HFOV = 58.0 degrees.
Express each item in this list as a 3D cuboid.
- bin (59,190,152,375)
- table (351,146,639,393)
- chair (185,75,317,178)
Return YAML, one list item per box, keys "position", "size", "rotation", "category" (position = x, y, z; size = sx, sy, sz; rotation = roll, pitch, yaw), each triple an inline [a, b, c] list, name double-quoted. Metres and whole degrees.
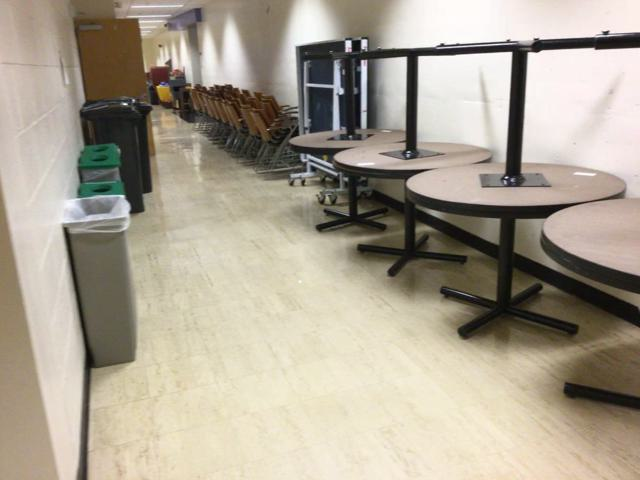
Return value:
- position: [-1.060, 0.180, 2.900]
  size: [0.330, 0.760, 0.550]
  rotation: [-5, 16, -18]
  category: "bin"
- position: [0.930, 0.030, 3.000]
  size: [1.110, 0.770, 1.160]
  rotation: [-12, 17, -17]
  category: "table"
- position: [-1.260, -1.820, 8.530]
  size: [0.620, 0.960, 5.010]
  rotation: [-21, 20, -14]
  category: "chair"
